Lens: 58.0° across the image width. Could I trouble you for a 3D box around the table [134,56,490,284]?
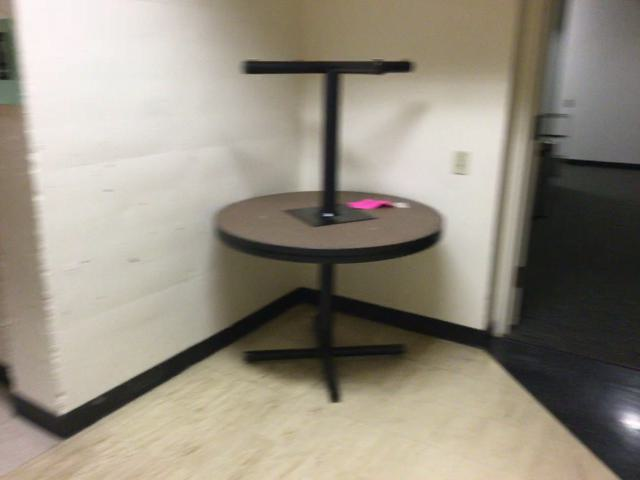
[{"bbox_3d":[-0.010,-0.410,2.620,1.180,0.730,1.040,12,18,30],"label":"table"}]
